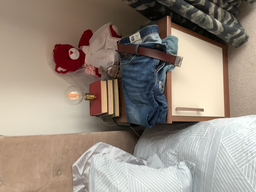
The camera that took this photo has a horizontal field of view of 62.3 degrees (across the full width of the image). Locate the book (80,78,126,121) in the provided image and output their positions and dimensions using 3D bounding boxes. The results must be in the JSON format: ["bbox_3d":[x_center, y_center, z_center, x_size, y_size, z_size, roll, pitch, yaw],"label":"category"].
[{"bbox_3d":[-0.140,0.030,1.160,0.220,0.150,0.200,-13,77,50],"label":"book"}]

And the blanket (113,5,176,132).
[{"bbox_3d":[0.060,-0.100,0.990,0.290,0.090,0.520,-13,77,50],"label":"blanket"}]
